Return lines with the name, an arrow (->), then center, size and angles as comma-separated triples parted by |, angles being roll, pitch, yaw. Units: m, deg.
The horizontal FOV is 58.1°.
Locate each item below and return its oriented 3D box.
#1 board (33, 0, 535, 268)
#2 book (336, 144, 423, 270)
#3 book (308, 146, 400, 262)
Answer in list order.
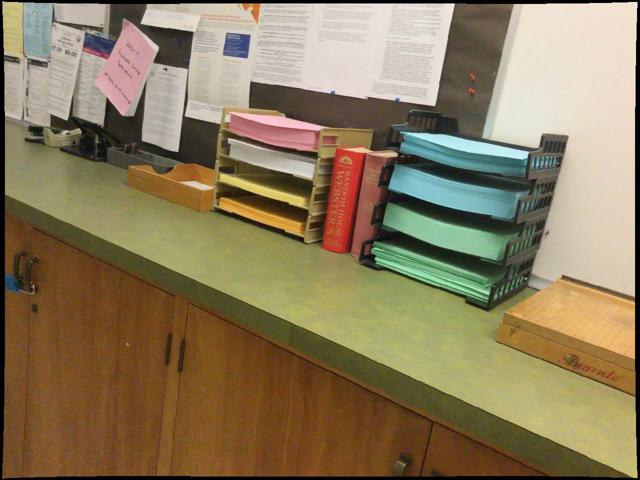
board -> -0.339, -0.652, 1.850 | 1.947, 0.962, 0.090 | 18, 19, 31
book -> 0.150, -0.090, 1.440 | 0.100, 0.281, 0.180 | 18, 19, 31
book -> 0.090, -0.100, 1.490 | 0.100, 0.261, 0.220 | 18, 19, 31
